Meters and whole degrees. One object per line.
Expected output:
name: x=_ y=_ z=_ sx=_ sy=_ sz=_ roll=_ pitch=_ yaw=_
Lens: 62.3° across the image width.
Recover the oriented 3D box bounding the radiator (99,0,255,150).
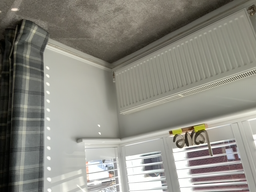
radiator: x=0.290 y=-0.070 z=1.670 sx=1.110 sy=0.800 sz=0.260 roll=-20 pitch=159 yaw=35
